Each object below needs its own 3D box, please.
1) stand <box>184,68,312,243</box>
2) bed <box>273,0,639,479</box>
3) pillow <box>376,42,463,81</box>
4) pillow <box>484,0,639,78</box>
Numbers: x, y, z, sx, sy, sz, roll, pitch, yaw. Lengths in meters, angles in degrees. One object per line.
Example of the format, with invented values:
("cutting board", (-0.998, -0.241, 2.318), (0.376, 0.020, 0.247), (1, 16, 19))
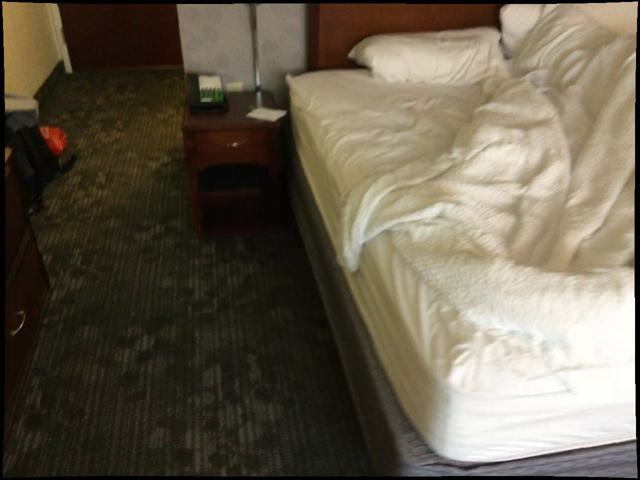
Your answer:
("stand", (-0.330, -0.390, 2.590), (0.490, 0.580, 0.510), (-5, 36, -10))
("bed", (0.969, -0.360, 2.020), (2.008, 1.001, 2.121), (-5, 36, -10))
("pillow", (0.430, -0.781, 2.520), (0.330, 0.110, 0.160), (-5, 36, -10))
("pillow", (1.189, -0.991, 2.700), (0.699, 0.350, 0.300), (-5, 36, -10))
